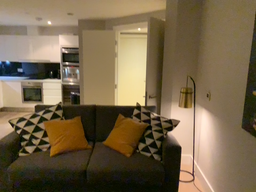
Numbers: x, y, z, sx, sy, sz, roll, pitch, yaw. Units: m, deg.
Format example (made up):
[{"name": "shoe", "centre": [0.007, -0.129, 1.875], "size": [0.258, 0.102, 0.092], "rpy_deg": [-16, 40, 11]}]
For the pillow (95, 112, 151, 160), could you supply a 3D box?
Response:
[{"name": "pillow", "centre": [-0.060, 0.470, 2.560], "size": [0.550, 0.480, 0.210], "rpy_deg": [-9, -39, 43]}]

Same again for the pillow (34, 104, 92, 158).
[{"name": "pillow", "centre": [-0.760, 0.430, 2.560], "size": [0.530, 0.450, 0.160], "rpy_deg": [31, -36, -26]}]

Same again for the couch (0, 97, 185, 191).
[{"name": "couch", "centre": [-0.480, 0.600, 2.690], "size": [2.040, 0.930, 1.060], "rpy_deg": [1, 11, -3]}]
